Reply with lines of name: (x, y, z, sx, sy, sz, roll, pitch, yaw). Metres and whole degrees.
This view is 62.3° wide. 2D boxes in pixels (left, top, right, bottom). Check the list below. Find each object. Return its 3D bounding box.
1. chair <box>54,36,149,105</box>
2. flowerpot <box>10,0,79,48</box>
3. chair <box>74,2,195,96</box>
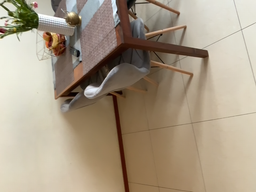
chair: (-0.250, -0.190, 1.990, 0.440, 0.730, 0.480, -16, 78, 54)
flowerpot: (-0.580, -0.510, 1.480, 0.210, 0.400, 0.240, -14, 79, 54)
chair: (0.050, -0.270, 1.560, 0.440, 0.730, 0.470, -16, 78, 54)
